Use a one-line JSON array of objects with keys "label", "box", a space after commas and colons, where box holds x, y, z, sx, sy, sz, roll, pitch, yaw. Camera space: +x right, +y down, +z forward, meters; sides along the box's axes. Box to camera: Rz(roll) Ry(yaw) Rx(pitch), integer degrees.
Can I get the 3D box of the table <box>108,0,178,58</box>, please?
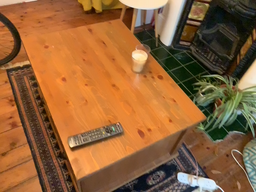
[{"label": "table", "box": [0.110, -0.740, 2.030, 0.450, 0.480, 0.420, -21, 58, -23]}]
